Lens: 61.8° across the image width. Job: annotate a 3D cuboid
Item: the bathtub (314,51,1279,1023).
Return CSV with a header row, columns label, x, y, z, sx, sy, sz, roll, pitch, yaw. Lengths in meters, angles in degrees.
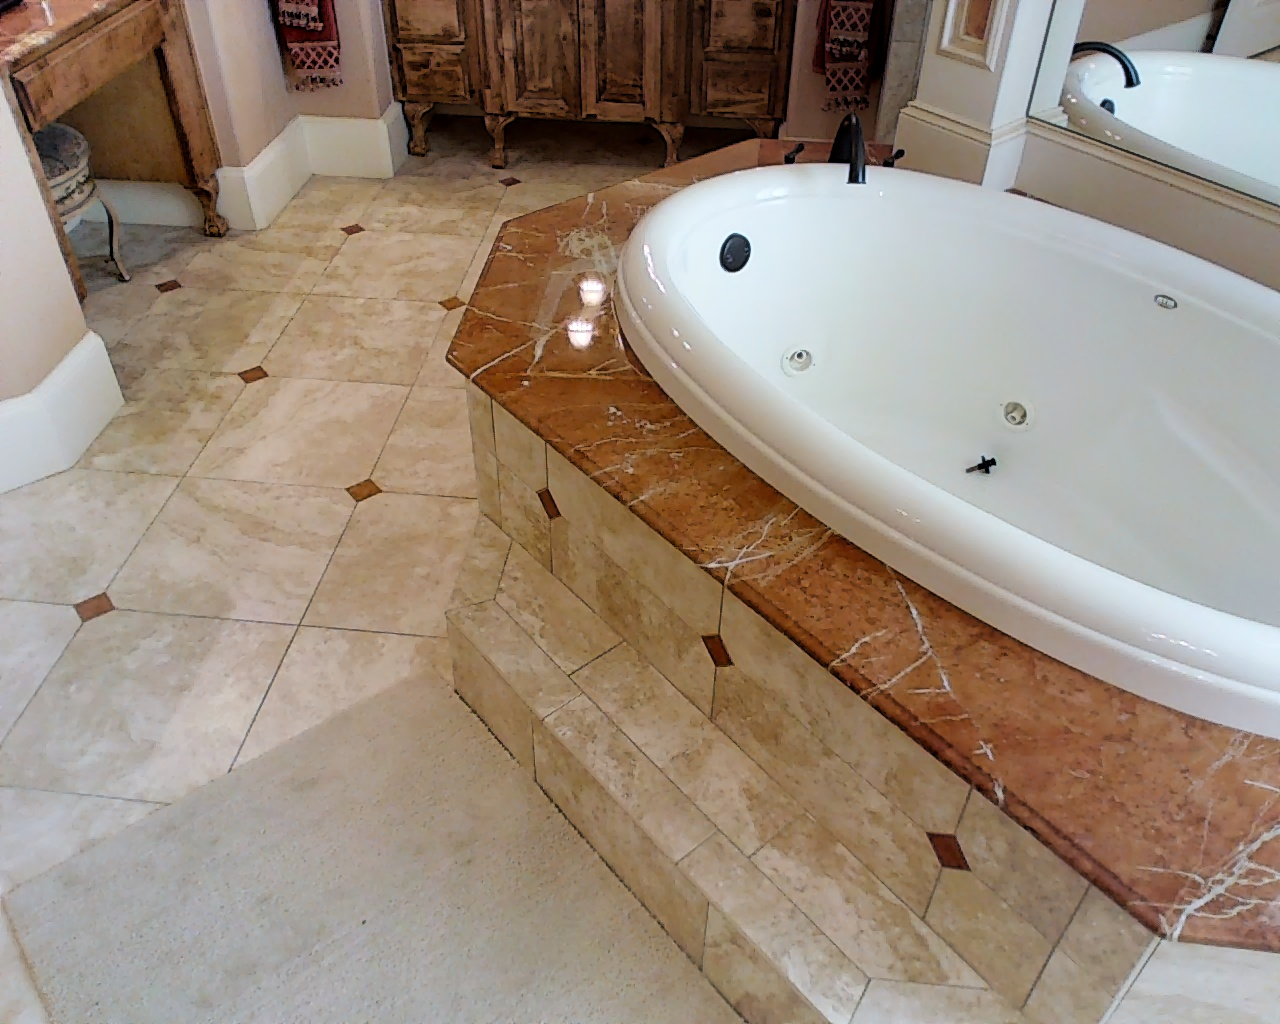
label,x,y,z,sx,sy,sz,roll,pitch,yaw
bathtub,0.640,-0.020,1.950,1.480,0.760,2.150,-27,48,-29
